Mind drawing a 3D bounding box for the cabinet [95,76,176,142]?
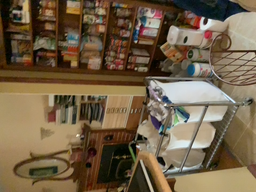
[{"bbox_3d":[0.070,0.190,3.050,0.410,0.920,0.830,-115,32,-50],"label":"cabinet"}]

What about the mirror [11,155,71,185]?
[{"bbox_3d":[-1.440,1.250,3.570,0.060,0.880,0.600,-114,31,-49],"label":"mirror"}]
